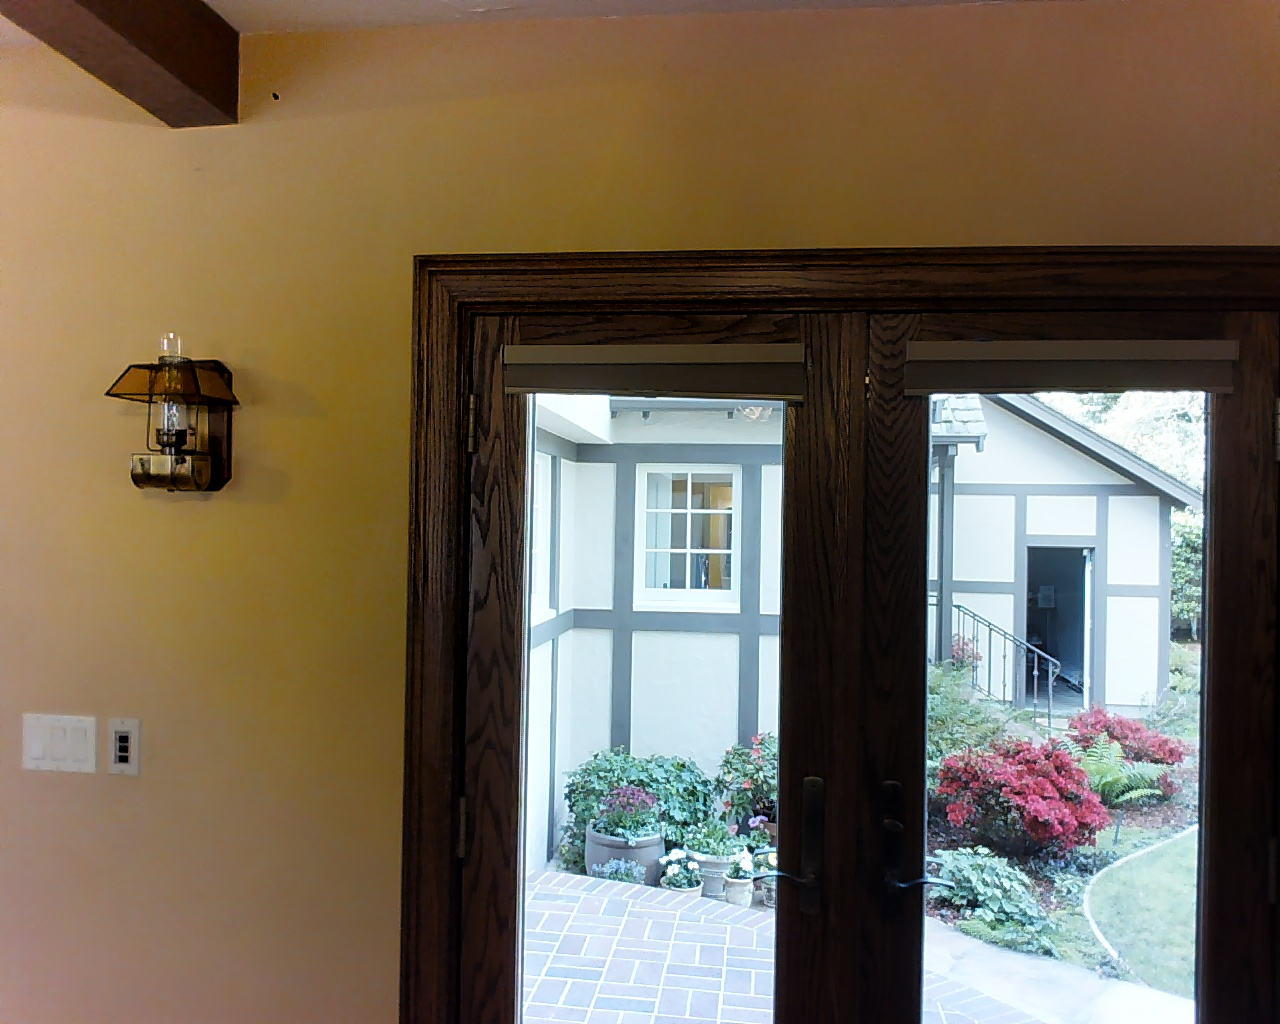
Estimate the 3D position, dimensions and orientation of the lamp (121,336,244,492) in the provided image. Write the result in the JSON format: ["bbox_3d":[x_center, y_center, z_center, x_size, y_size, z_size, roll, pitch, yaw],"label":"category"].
[{"bbox_3d":[-0.860,-0.180,2.030,0.160,0.280,0.140,1,0,7],"label":"lamp"}]

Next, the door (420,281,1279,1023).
[{"bbox_3d":[0.380,0.590,1.980,1.560,1.990,0.140,1,0,7],"label":"door"}]
